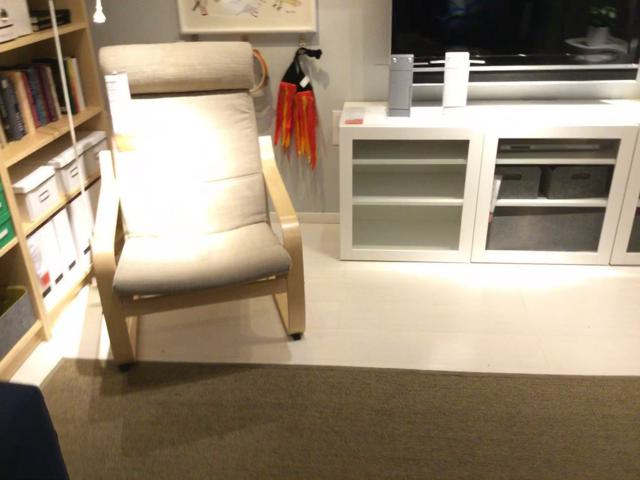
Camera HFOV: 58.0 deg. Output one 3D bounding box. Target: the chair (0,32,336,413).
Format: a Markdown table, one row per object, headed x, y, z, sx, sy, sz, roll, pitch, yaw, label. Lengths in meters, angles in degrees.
| x | y | z | sx | sy | sz | roll | pitch | yaw | label |
| --- | --- | --- | --- | --- | --- | --- | --- | --- | --- |
| -0.460 | -0.140 | 2.100 | 0.830 | 1.030 | 0.890 | -8 | 24 | -6 | chair |
